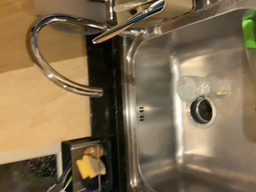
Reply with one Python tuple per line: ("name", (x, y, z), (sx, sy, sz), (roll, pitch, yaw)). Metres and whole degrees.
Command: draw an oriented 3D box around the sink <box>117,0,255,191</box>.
("sink", (0.220, 0.060, 0.600), (0.520, 0.230, 0.520), (-1, 91, 53))
